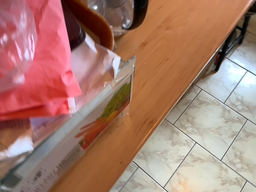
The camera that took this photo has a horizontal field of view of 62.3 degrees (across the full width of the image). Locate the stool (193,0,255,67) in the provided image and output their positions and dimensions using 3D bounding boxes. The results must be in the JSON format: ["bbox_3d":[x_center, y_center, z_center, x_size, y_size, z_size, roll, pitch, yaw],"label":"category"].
[{"bbox_3d":[0.650,-0.470,1.280,0.260,0.420,0.330,37,69,17],"label":"stool"}]

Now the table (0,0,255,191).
[{"bbox_3d":[0.210,-0.210,0.960,0.360,0.770,1.500,37,69,17],"label":"table"}]
